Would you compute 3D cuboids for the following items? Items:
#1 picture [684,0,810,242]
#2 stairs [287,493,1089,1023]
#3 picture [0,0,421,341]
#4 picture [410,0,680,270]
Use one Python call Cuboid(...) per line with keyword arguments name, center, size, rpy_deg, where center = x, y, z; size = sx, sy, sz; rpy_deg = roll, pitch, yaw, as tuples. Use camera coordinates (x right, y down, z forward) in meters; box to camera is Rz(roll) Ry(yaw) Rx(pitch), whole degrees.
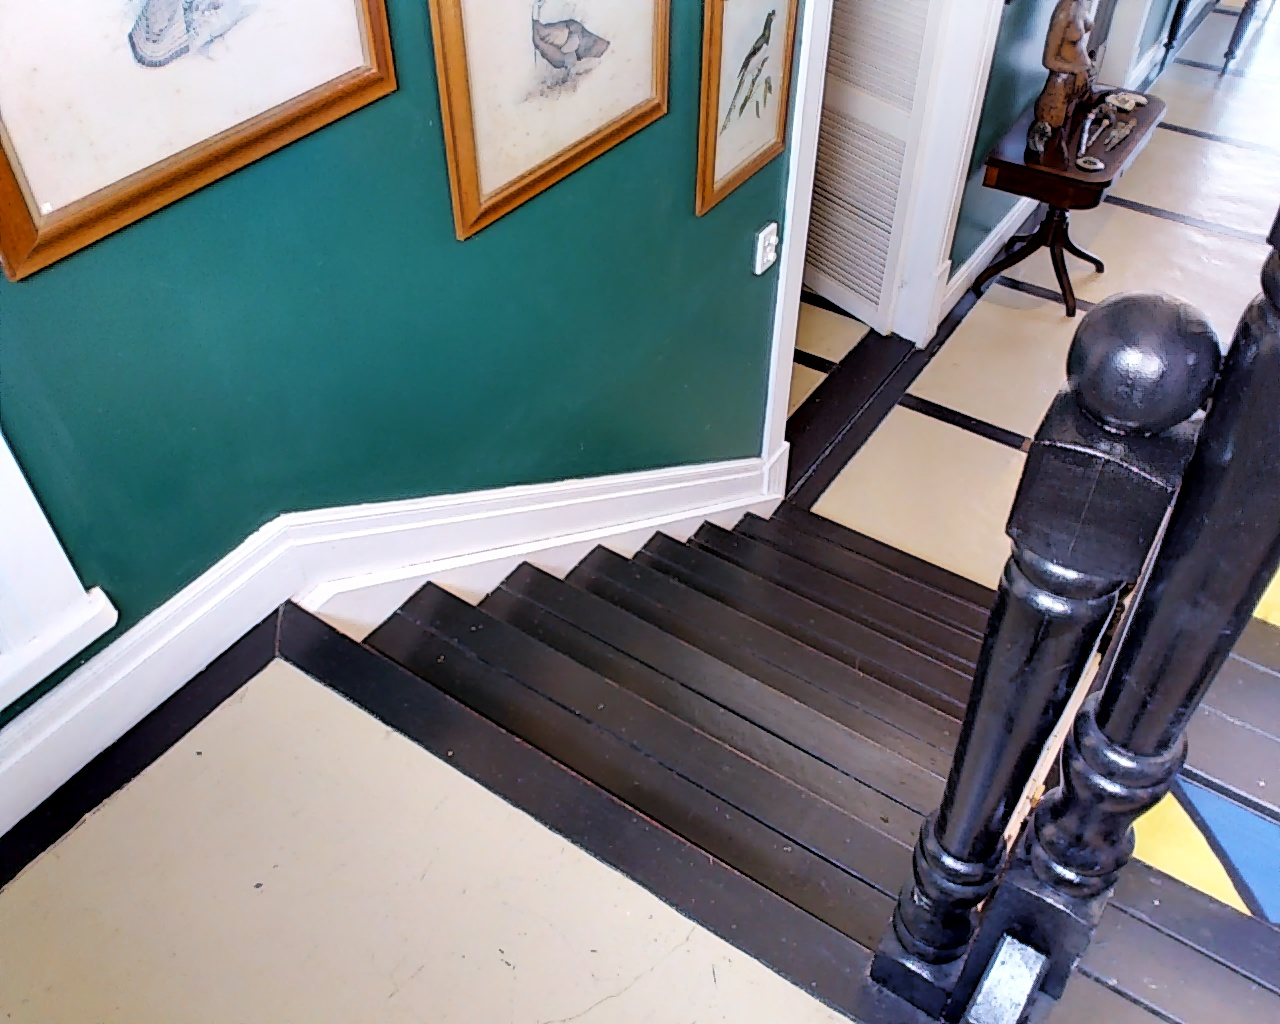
Cuboid(name="picture", center=(0.240, -0.940, 2.350), size=(0.030, 0.550, 0.460), rpy_deg=(25, 48, 24))
Cuboid(name="stairs", center=(0.350, 0.300, 2.400), size=(1.010, 0.230, 2.010), rpy_deg=(25, 15, 24))
Cuboid(name="picture", center=(-0.510, -0.560, 1.180), size=(0.030, 0.510, 0.650), rpy_deg=(25, 48, 24))
Cuboid(name="picture", center=(-0.120, -0.760, 1.770), size=(0.030, 0.490, 0.650), rpy_deg=(25, 48, 24))
